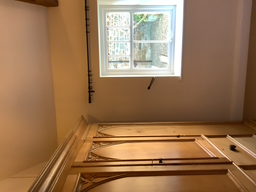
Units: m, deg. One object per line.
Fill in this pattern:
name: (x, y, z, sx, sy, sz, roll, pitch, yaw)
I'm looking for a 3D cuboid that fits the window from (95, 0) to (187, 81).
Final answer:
window: (0.160, -0.840, 3.020, 0.530, 1.170, 1.200, -106, 15, -79)
